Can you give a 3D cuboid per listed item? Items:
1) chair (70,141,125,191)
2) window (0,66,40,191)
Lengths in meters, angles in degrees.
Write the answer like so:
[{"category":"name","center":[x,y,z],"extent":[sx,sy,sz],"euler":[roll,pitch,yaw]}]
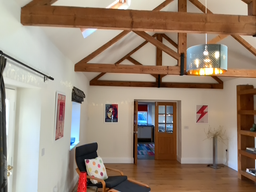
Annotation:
[{"category":"chair","center":[-0.580,1.420,4.080],"extent":[0.860,0.940,0.570],"euler":[-1,-4,35]},{"category":"window","center":[-1.230,0.800,1.910],"extent":[0.280,2.080,1.180],"euler":[1,-3,0]}]
